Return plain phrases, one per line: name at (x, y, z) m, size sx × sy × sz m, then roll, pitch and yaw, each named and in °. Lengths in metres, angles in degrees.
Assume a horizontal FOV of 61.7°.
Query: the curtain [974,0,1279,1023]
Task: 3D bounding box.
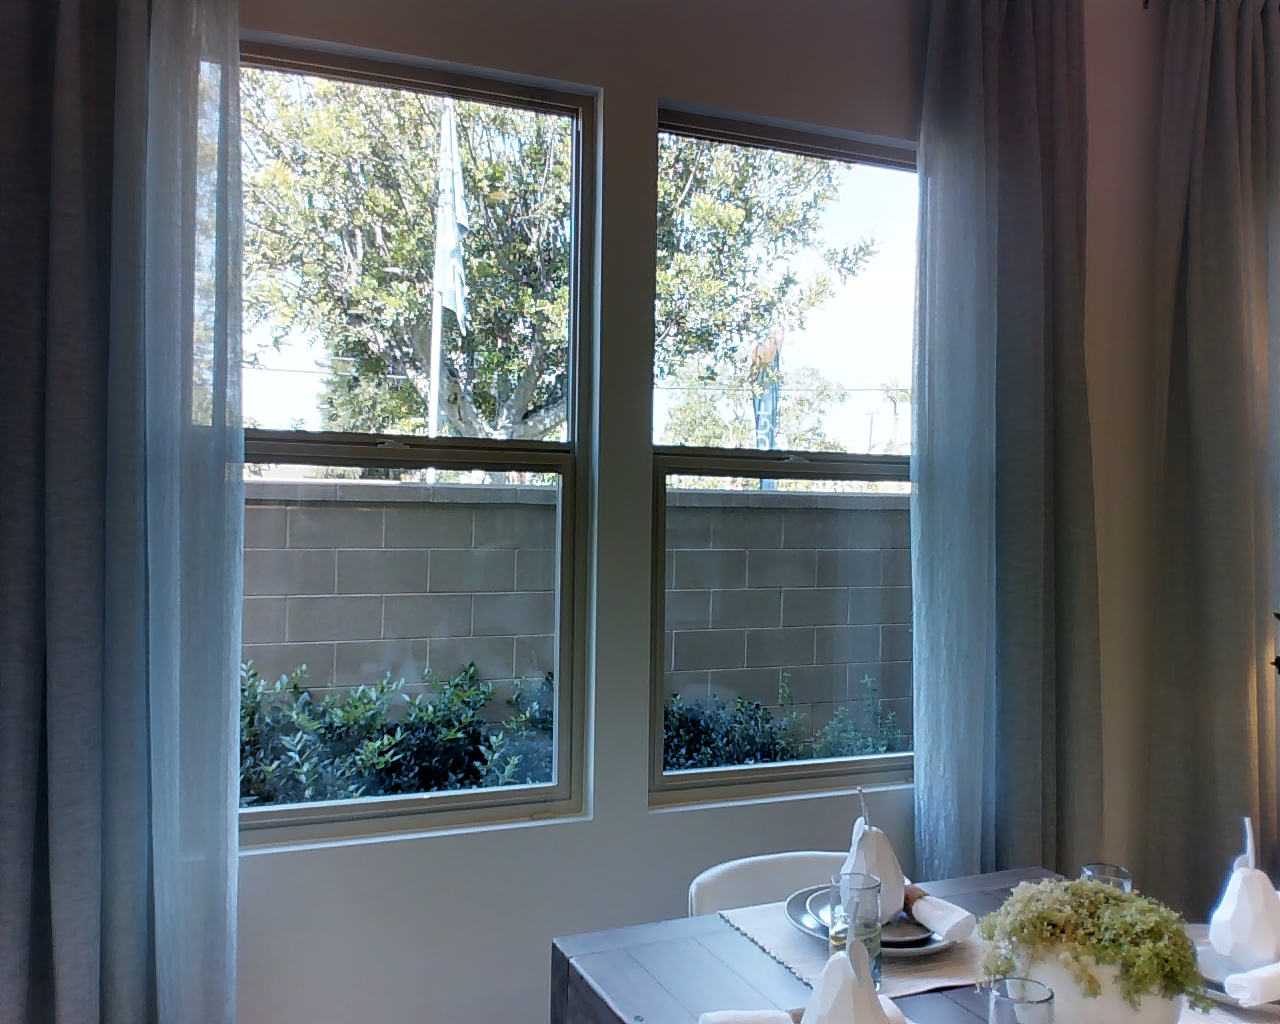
curtain at (1.549, -0.020, 2.900) m, size 1.260 × 3.051 × 0.340 m, roll 1°, pitch 0°, yaw -22°
